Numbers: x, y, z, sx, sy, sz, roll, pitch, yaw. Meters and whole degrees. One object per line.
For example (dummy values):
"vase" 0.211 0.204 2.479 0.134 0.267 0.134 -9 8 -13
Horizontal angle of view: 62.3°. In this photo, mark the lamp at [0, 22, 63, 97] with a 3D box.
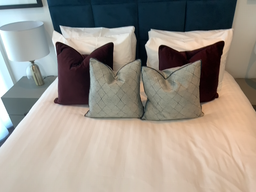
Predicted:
"lamp" -0.870 -0.330 1.950 0.300 0.580 0.350 1 34 7
